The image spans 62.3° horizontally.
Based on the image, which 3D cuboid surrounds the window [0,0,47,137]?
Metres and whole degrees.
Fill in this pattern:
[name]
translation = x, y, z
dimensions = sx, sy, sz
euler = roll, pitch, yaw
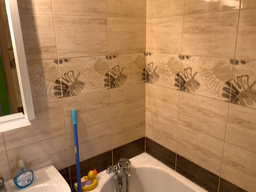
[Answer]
[window]
translation = -0.740, -0.240, 1.050
dimensions = 0.510, 0.930, 0.130
euler = -12, 20, -33
